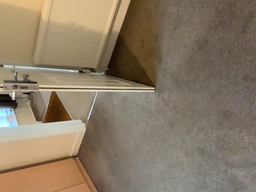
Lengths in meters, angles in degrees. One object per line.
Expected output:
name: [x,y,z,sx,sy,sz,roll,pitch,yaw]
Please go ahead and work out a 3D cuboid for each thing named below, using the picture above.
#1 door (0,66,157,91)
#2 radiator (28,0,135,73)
door: [-0.770,-0.130,1.340,0.790,1.970,0.030,19,105,48]
radiator: [-0.190,-0.980,1.550,0.060,0.760,1.740,44,123,39]
